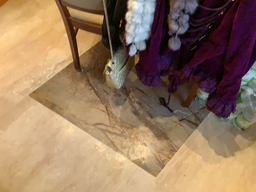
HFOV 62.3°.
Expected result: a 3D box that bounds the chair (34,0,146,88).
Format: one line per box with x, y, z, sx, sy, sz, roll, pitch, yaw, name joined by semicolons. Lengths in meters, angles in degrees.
-0.170;-0.570;1.220;0.420;0.960;0.530;17;63;10;chair
